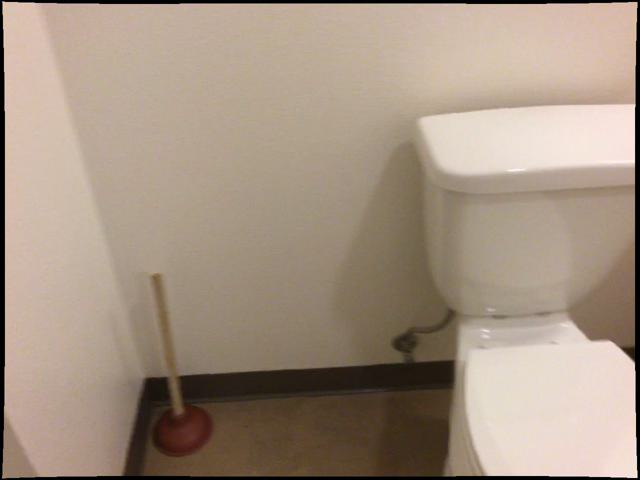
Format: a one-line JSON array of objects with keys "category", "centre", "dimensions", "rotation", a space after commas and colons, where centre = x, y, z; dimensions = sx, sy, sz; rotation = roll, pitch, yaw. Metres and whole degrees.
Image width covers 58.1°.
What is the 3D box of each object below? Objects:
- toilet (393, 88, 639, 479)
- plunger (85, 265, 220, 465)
[{"category": "toilet", "centre": [0.399, 0.170, 0.960], "dimensions": [0.439, 0.531, 0.761], "rotation": [-3, 39, 0]}, {"category": "plunger", "centre": [-0.369, 0.311, 1.360], "dimensions": [0.170, 0.511, 0.170], "rotation": [-3, 39, 0]}]
